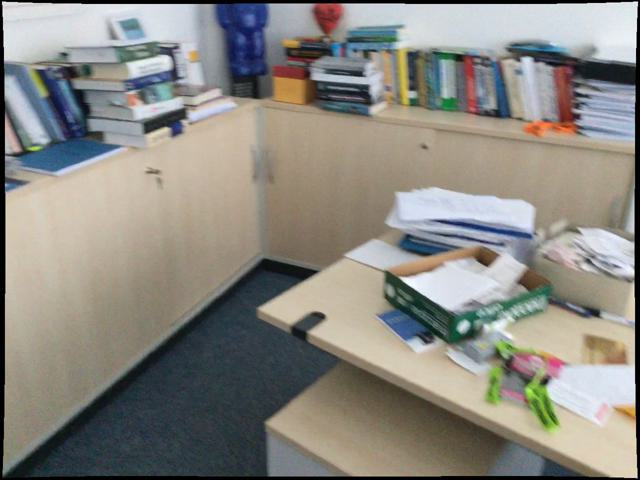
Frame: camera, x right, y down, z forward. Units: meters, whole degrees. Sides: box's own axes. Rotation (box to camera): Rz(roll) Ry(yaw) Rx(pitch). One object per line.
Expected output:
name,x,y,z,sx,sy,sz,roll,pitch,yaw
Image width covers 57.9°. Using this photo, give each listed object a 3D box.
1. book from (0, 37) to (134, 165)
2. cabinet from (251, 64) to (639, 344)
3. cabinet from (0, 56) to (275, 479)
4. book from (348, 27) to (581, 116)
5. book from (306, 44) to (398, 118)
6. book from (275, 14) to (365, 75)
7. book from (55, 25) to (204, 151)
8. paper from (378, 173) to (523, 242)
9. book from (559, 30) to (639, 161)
book,-0.929,-0.470,1.880,0.230,0.270,0.640,12,29,21
cabinet,0.490,-0.210,2.570,1.599,0.921,0.330,12,29,21
cabinet,-0.759,-0.060,2.190,0.450,0.961,1.640,12,29,21
book,0.599,-0.741,2.490,0.919,0.250,0.240,12,29,21
book,0.140,-0.701,2.520,0.310,0.230,0.290,12,29,21
book,0.000,-0.921,2.710,0.360,0.220,0.220,12,29,21
book,-0.629,-0.531,1.970,0.310,0.330,0.320,12,29,21
paper,0.370,-0.100,1.620,0.350,0.050,0.240,12,29,21
book,1.159,-0.571,2.240,0.290,0.400,0.350,17,31,28
